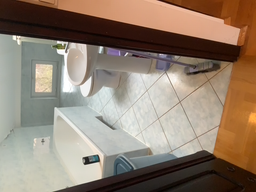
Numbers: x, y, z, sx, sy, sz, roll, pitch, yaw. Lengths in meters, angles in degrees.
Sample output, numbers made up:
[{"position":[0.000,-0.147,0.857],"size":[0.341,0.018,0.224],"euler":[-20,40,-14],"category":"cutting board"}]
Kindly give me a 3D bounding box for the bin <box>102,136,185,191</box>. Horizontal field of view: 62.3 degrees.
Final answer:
[{"position":[0.120,0.790,1.880],"size":[0.380,0.580,0.700],"euler":[17,105,54],"category":"bin"}]

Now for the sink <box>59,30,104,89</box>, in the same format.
[{"position":[-0.440,-0.340,1.890],"size":[0.560,0.170,0.450],"euler":[22,110,53],"category":"sink"}]
